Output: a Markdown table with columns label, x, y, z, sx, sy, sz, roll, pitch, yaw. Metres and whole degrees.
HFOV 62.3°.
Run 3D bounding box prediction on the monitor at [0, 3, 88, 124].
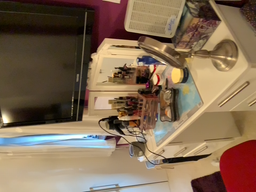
| label | x | y | z | sx | sy | sz | roll | pitch | yaw |
| --- | --- | --- | --- | --- | --- | --- | --- | --- | --- |
| monitor | -0.490 | -0.100 | 1.120 | 0.030 | 0.480 | 0.730 | -106 | 25 | -43 |
